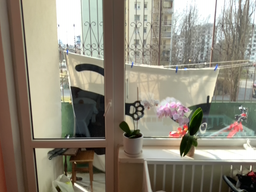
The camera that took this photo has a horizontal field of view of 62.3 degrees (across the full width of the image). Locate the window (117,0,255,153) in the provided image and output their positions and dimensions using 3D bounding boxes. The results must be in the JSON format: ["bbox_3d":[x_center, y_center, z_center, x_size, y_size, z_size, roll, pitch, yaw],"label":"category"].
[{"bbox_3d":[1.120,-0.380,1.860,2.430,1.750,0.180,0,12,-5],"label":"window"}]
